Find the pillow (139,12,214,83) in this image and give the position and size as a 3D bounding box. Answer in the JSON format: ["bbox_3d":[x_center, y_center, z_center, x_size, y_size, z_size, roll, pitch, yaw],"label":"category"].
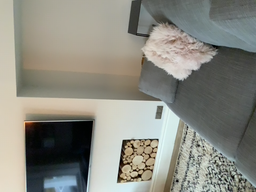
[{"bbox_3d":[0.350,-0.360,1.690,0.450,0.440,0.220,91,156,-71],"label":"pillow"}]
